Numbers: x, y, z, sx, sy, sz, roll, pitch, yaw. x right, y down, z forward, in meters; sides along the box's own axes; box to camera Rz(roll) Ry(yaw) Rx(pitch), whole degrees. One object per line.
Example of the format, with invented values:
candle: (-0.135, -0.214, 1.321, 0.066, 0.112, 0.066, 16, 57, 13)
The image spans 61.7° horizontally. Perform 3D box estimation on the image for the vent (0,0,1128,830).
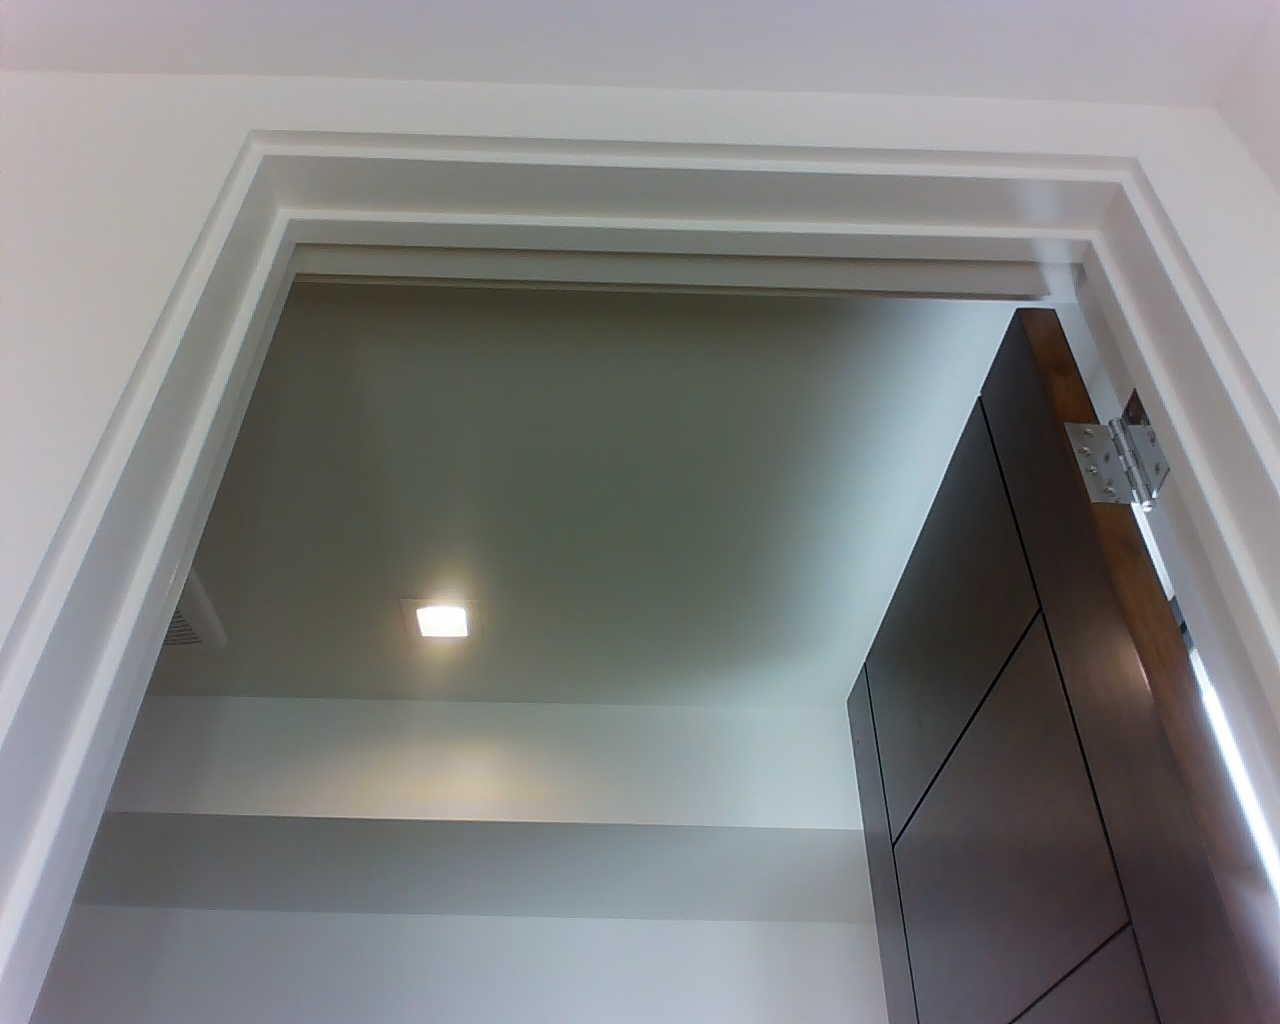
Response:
vent: (-0.350, 0.030, 1.580, 1.720, 0.060, 1.050, -31, -50, 31)
